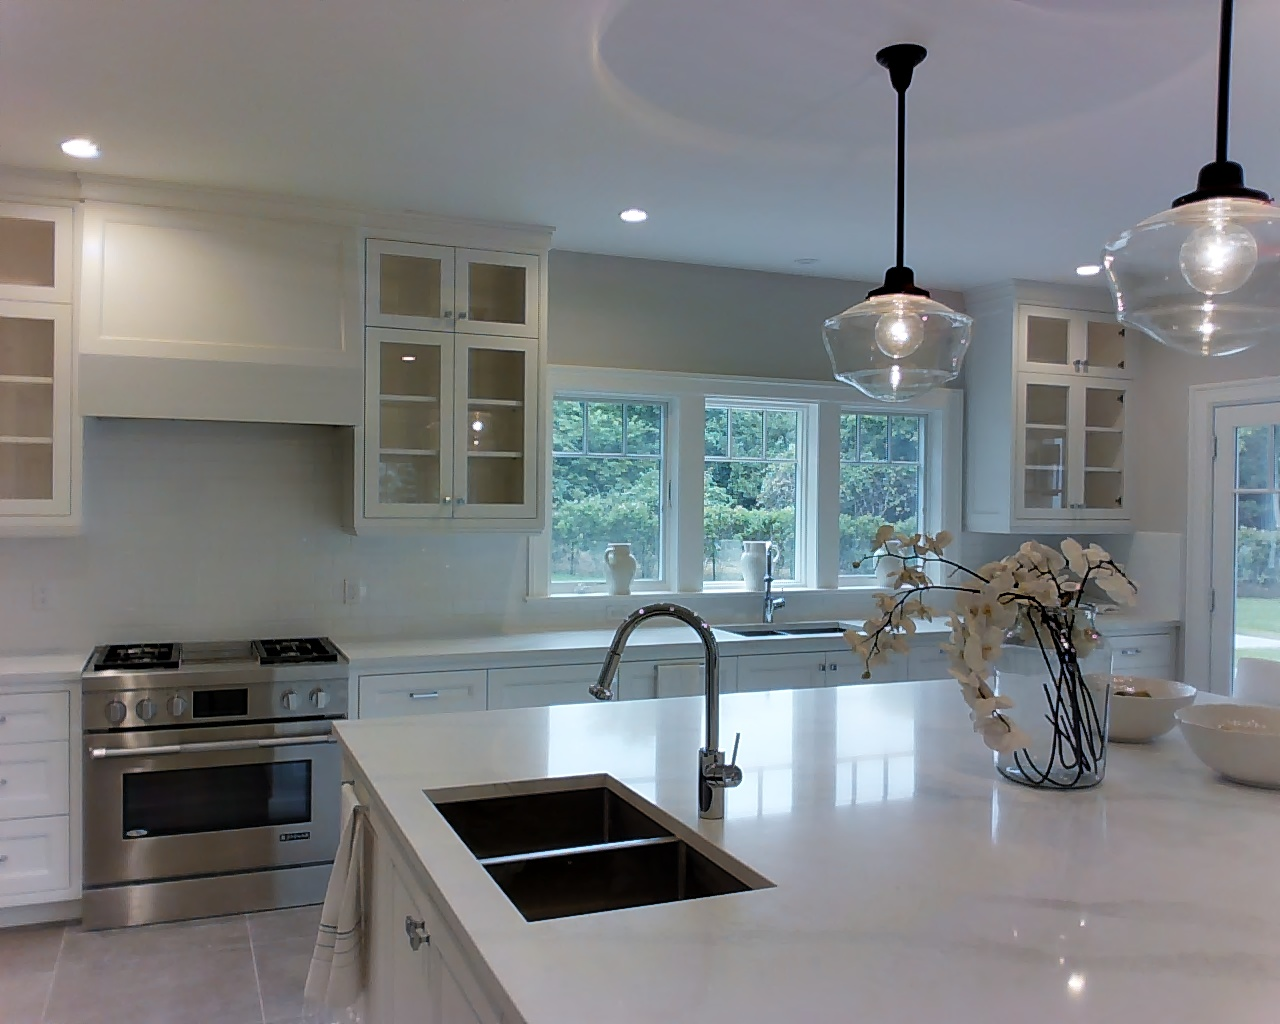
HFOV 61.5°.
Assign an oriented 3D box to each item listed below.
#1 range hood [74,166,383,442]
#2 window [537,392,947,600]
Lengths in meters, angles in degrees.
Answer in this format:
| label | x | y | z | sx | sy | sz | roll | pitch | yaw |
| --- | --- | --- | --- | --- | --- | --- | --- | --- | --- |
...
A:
| label | x | y | z | sx | sy | sz | roll | pitch | yaw |
| --- | --- | --- | --- | --- | --- | --- | --- | --- | --- |
| range hood | -1.630 | -0.770 | 4.310 | 1.080 | 0.920 | 0.580 | 0 | 0 | -23 |
| window | 0.600 | -0.070 | 5.680 | 2.300 | 0.990 | 0.260 | 0 | 0 | -23 |
